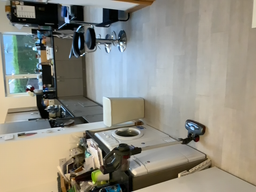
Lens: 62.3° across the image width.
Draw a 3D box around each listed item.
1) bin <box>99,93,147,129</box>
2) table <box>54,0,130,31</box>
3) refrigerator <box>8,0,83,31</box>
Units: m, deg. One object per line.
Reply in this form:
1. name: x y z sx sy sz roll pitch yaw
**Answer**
1. bin: -0.080 0.210 3.260 0.340 0.650 0.430 16 108 62
2. table: -0.710 -1.630 3.810 1.380 0.970 0.660 18 110 61
3. refrigerator: -2.210 -2.180 5.790 0.620 1.800 0.570 18 110 61
